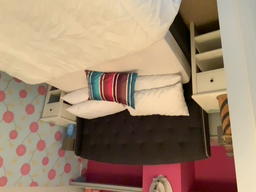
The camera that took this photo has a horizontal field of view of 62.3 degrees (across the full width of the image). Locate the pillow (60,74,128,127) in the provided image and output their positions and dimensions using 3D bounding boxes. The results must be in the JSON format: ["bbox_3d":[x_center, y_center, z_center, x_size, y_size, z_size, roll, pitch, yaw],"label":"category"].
[{"bbox_3d":[-0.410,0.070,2.580,0.640,0.480,0.290,-10,-157,33],"label":"pillow"}]

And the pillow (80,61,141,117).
[{"bbox_3d":[-0.180,-0.080,2.180,0.490,0.380,0.240,-22,-164,-4],"label":"pillow"}]

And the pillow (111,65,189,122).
[{"bbox_3d":[0.230,-0.010,2.250,0.690,0.430,0.240,-12,-161,29],"label":"pillow"}]
